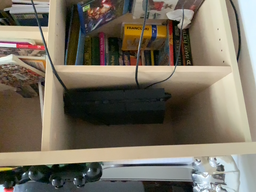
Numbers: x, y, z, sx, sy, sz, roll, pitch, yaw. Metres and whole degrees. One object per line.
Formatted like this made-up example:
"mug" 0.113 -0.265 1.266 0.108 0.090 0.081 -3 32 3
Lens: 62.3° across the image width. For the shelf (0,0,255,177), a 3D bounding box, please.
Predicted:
"shelf" -0.190 -0.310 0.770 0.950 1.080 0.510 0 164 -7
